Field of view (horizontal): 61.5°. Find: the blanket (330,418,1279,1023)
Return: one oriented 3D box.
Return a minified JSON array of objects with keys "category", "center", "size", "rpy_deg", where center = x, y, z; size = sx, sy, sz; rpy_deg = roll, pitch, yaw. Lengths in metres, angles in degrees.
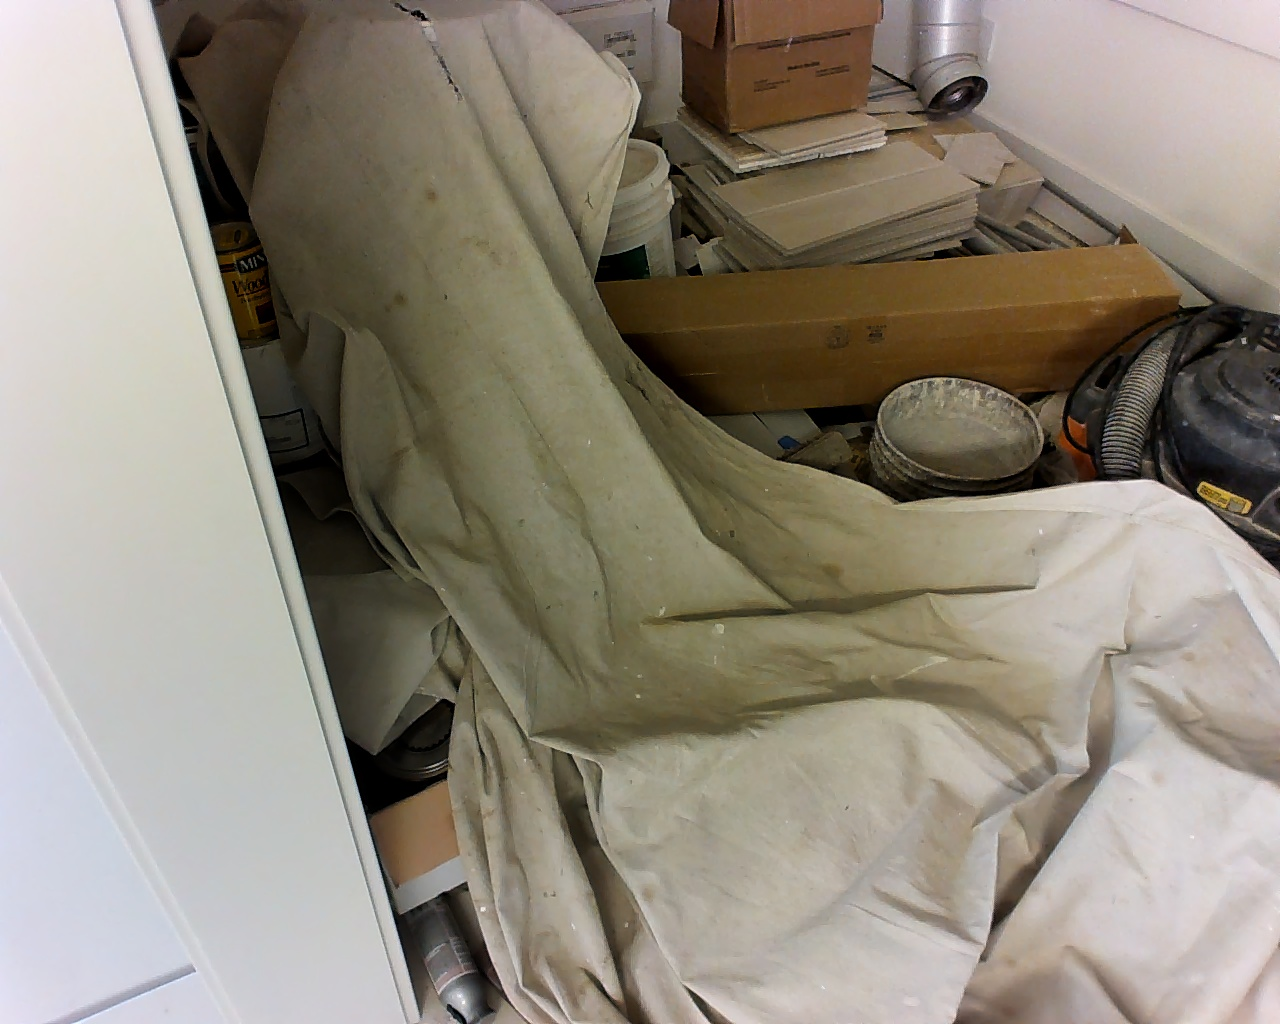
[{"category":"blanket","center":[0.500,0.650,1.120],"size":[1.000,0.540,1.430],"rpy_deg":[-26,49,-27]}]
